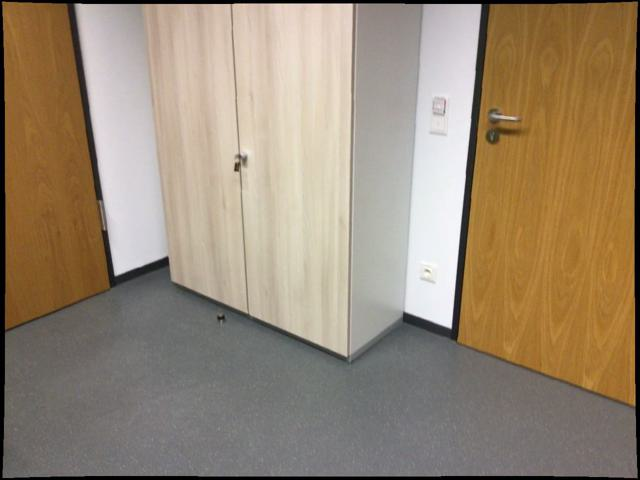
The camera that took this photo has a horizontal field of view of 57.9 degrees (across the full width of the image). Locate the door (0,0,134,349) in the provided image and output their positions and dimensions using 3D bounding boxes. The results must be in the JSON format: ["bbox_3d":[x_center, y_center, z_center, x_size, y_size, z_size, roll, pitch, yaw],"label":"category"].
[{"bbox_3d":[-1.359,-0.591,2.440,0.190,2.102,0.850,15,26,39],"label":"door"}]

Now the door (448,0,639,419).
[{"bbox_3d":[0.999,-0.460,1.890,1.029,2.212,0.180,18,29,37],"label":"door"}]
